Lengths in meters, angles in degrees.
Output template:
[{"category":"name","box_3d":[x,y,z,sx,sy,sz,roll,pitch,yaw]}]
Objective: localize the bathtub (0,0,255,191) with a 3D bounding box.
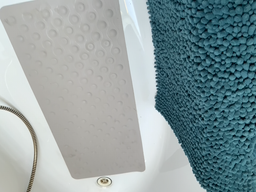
[{"category":"bathtub","box_3d":[-0.180,0.010,0.690,1.170,0.600,1.720,-31,118,15]}]
